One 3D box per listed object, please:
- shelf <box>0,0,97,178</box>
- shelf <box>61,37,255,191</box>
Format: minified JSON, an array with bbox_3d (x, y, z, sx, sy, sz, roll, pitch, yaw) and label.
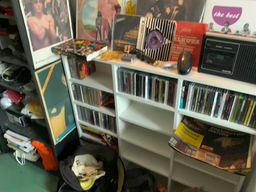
[{"bbox_3d":[-0.640,-0.410,1.240,0.620,1.940,0.390,16,37,25],"label":"shelf"},{"bbox_3d":[0.130,0.190,1.250,1.010,0.890,0.190,16,37,25],"label":"shelf"}]
